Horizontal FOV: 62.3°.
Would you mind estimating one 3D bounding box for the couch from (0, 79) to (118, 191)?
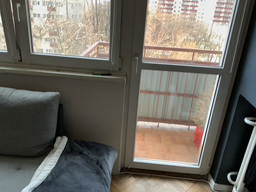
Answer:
[{"bbox_3d":[-0.690,0.460,1.480,1.100,0.840,0.920,5,23,2],"label":"couch"}]
